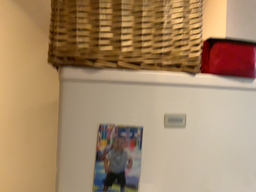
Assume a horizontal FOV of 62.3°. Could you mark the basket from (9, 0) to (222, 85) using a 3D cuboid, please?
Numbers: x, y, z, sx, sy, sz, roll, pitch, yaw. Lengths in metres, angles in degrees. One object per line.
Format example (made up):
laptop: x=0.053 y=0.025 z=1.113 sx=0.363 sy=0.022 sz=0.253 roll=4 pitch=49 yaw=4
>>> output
basket: x=-0.060 y=-0.220 z=0.740 sx=0.440 sy=0.320 sz=0.610 roll=2 pitch=0 yaw=-11
